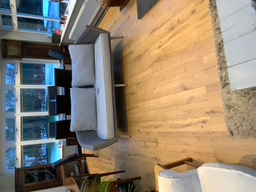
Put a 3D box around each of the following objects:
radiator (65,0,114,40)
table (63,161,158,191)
[{"bbox_3d":[-0.880,-1.620,4.430,2.090,0.470,0.140,-14,78,63],"label":"radiator"},{"bbox_3d":[-0.340,1.370,2.960,1.440,0.880,0.630,160,108,-63],"label":"table"}]
